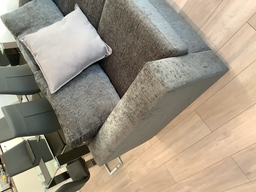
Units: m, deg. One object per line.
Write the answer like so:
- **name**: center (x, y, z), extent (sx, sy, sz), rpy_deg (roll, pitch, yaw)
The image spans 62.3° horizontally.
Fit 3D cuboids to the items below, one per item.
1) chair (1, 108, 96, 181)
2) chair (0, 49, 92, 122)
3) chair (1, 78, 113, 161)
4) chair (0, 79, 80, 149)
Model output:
- **chair**: center (-1.020, 0.600, 2.750), extent (0.400, 1.000, 0.570), rpy_deg (57, 138, 18)
- **chair**: center (-1.020, -0.150, 2.460), extent (0.420, 0.990, 0.540), rpy_deg (57, 138, 18)
- **chair**: center (-0.760, 0.220, 2.310), extent (0.410, 1.000, 0.550), rpy_deg (57, 138, 18)
- **chair**: center (-1.280, 0.220, 2.900), extent (0.460, 1.010, 0.590), rpy_deg (57, 138, 18)
